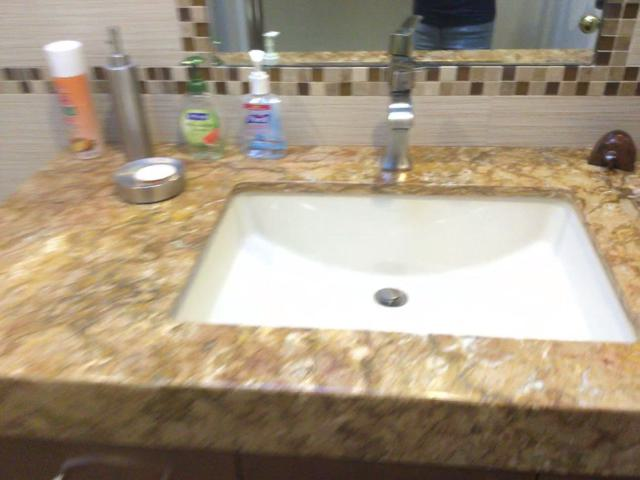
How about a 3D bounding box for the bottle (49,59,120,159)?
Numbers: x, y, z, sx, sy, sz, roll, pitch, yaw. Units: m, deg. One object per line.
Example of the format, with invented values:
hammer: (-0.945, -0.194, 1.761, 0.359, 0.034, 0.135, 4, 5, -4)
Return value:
bottle: (-0.390, -0.220, 0.970, 0.050, 0.140, 0.090, 0, 33, 3)
